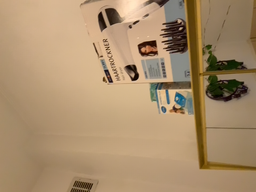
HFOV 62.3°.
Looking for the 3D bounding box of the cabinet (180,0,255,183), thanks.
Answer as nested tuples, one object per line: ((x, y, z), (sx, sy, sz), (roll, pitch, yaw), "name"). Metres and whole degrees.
((0.400, 0.010, 0.600), (0.150, 0.410, 0.700), (-69, -30, -43), "cabinet")
